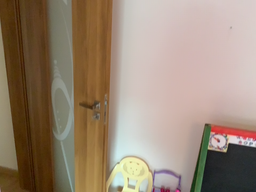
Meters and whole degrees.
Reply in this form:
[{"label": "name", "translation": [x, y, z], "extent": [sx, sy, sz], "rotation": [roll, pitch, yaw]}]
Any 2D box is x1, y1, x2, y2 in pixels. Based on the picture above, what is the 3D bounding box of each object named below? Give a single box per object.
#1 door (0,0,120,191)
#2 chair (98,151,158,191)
[{"label": "door", "translation": [-0.560, 0.100, 1.660], "extent": [0.970, 2.140, 0.140], "rotation": [13, 20, 26]}, {"label": "chair", "translation": [0.000, 0.830, 1.770], "extent": [0.390, 0.540, 0.360], "rotation": [9, 18, 14]}]
